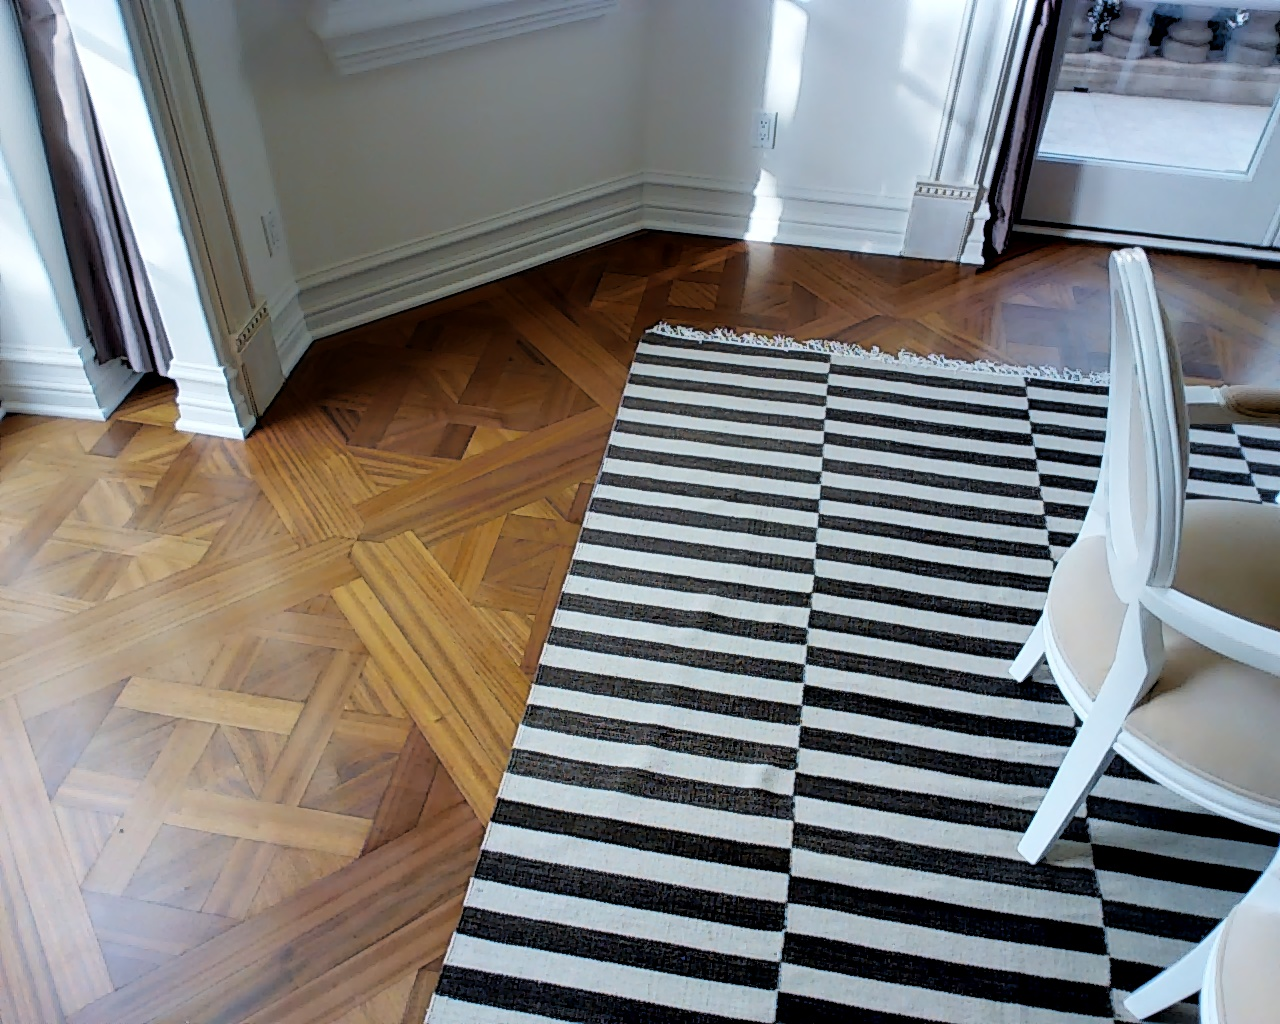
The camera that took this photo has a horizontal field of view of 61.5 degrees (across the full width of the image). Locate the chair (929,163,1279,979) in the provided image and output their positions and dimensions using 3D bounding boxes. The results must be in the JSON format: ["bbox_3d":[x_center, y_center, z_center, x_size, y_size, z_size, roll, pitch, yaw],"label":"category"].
[{"bbox_3d":[0.920,0.120,1.660,0.700,1.000,0.710,7,42,6],"label":"chair"}]
